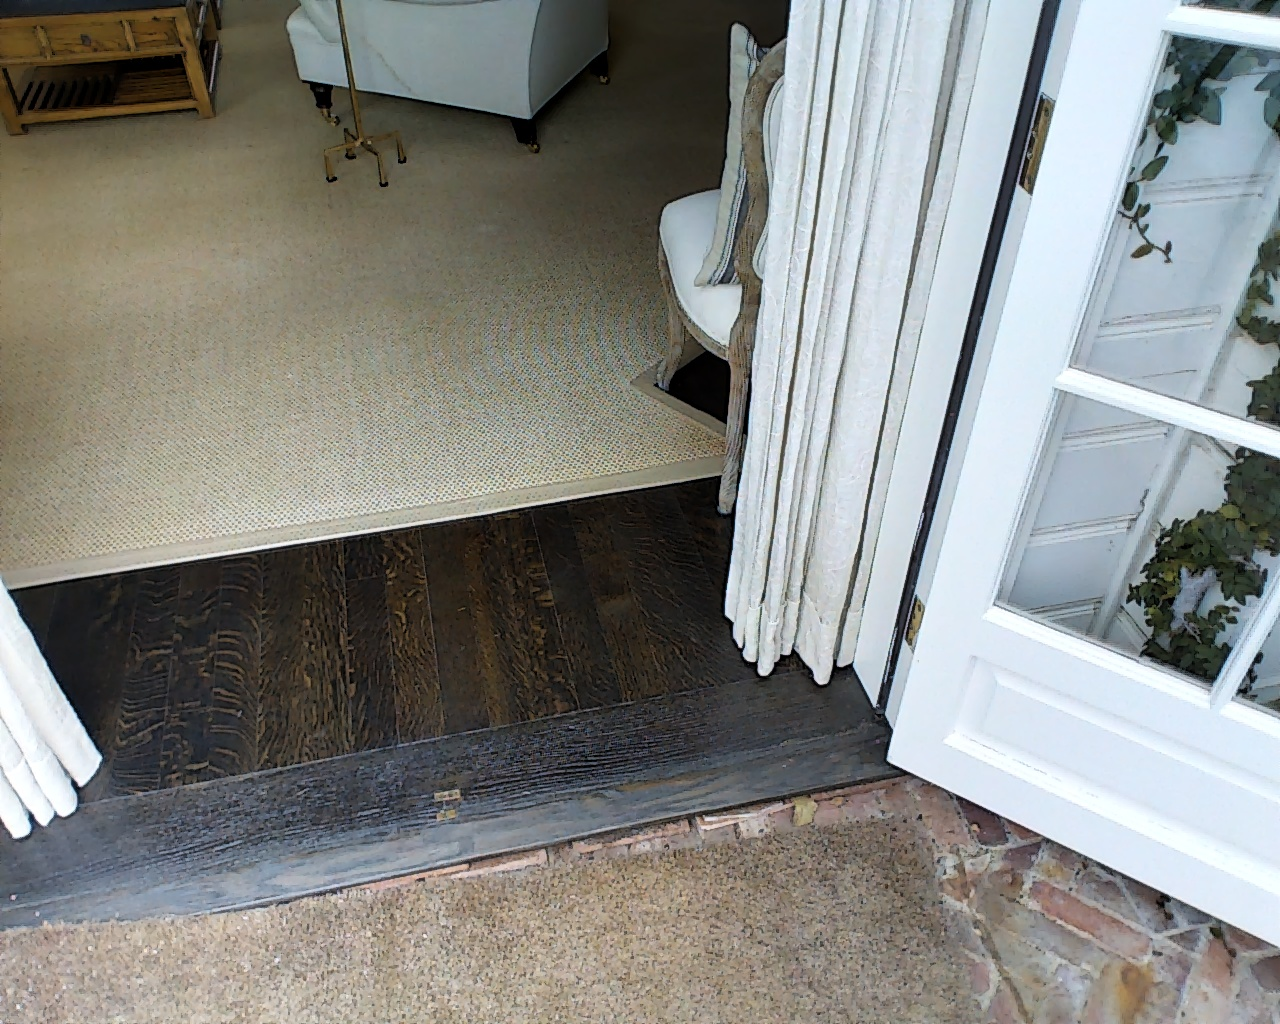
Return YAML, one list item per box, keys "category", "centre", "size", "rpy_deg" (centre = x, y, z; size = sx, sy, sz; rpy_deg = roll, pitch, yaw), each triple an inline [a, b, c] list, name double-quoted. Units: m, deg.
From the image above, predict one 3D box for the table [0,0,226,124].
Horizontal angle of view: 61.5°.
- category: "table"
  centre: [-1.880, -1.740, 3.770]
  size: [0.690, 0.430, 0.700]
  rpy_deg: [-9, 43, -10]
